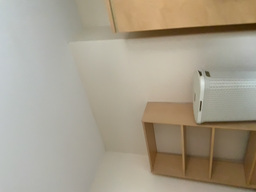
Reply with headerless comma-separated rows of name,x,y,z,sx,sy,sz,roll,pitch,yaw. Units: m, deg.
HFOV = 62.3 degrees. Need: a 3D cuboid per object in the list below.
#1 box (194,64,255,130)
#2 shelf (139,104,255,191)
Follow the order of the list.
box,0.830,0.000,1.660,0.330,0.590,0.380,-66,-28,-50
shelf,0.720,0.520,2.150,0.310,1.070,0.830,-68,-26,-48
